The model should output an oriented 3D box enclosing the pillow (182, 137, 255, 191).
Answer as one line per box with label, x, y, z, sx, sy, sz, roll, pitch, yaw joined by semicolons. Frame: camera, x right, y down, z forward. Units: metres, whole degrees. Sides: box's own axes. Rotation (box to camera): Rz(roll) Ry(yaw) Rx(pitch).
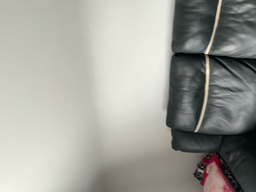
pillow;0.760;0.780;1.880;0.680;0.240;0.470;-114;20;-58
